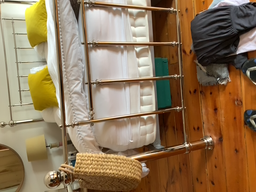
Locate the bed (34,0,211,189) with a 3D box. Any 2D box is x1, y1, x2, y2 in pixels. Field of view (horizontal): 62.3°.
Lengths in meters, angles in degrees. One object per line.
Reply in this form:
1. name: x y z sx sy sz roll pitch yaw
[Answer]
1. bed: -0.380 -0.450 2.030 2.140 0.770 1.660 180 85 -65
